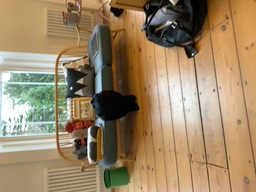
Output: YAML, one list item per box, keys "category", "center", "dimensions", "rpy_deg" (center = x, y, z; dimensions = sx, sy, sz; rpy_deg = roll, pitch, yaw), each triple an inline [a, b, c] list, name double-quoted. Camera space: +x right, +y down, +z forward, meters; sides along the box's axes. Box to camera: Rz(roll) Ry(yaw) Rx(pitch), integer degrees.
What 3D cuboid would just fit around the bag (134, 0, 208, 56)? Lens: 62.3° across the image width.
- category: "bag"
  center: [0.270, -0.590, 1.540]
  dimensions: [0.560, 0.220, 0.410]
  rpy_deg: [156, 112, -65]
